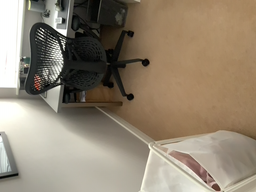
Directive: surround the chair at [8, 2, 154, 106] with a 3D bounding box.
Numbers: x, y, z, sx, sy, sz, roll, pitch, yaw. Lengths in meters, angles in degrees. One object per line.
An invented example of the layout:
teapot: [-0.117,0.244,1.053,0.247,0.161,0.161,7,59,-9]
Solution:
chair: [-0.460,-0.370,1.980,0.760,1.010,0.660,33,114,46]
